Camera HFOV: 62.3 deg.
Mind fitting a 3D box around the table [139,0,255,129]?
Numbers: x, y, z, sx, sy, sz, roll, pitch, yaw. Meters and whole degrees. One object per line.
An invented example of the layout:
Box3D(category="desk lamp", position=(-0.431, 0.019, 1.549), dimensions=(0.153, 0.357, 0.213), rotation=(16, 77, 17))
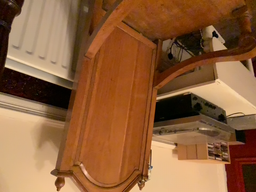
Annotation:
Box3D(category="table", position=(0.610, -0.210, 1.670), dimensions=(0.590, 0.750, 0.880), rotation=(-16, 153, 42))
